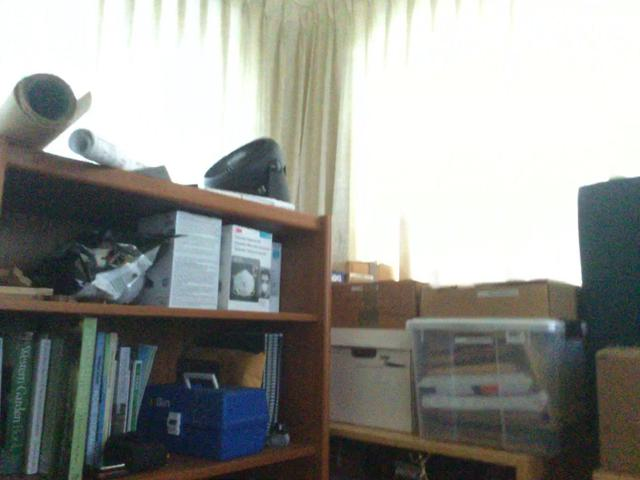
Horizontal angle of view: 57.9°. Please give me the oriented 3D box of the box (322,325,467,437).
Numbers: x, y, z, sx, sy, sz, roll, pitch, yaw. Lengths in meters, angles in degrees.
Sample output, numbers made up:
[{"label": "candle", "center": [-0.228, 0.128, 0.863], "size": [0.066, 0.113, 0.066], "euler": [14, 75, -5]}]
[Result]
[{"label": "box", "center": [0.210, 0.380, 1.630], "size": [0.310, 0.270, 0.260], "euler": [-7, -12, 40]}]
